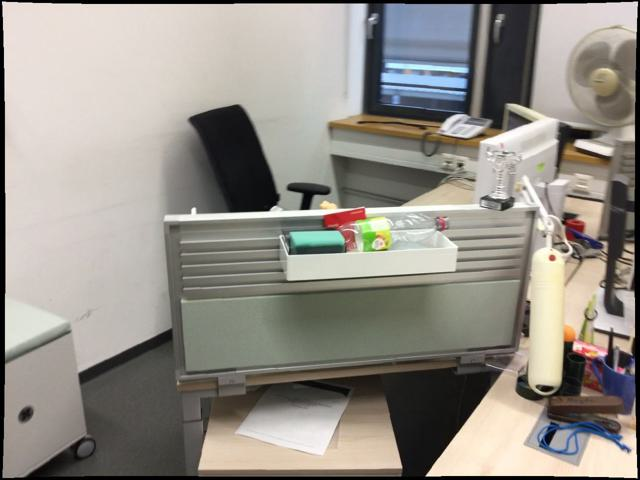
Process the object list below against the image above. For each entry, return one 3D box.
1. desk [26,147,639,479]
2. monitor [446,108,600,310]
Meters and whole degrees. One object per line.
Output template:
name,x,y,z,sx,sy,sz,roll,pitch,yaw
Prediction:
desk,0.380,0.310,2.170,1.239,0.791,2.229,16,26,35
monitor,0.659,-0.140,1.830,0.180,0.470,0.710,15,24,35
